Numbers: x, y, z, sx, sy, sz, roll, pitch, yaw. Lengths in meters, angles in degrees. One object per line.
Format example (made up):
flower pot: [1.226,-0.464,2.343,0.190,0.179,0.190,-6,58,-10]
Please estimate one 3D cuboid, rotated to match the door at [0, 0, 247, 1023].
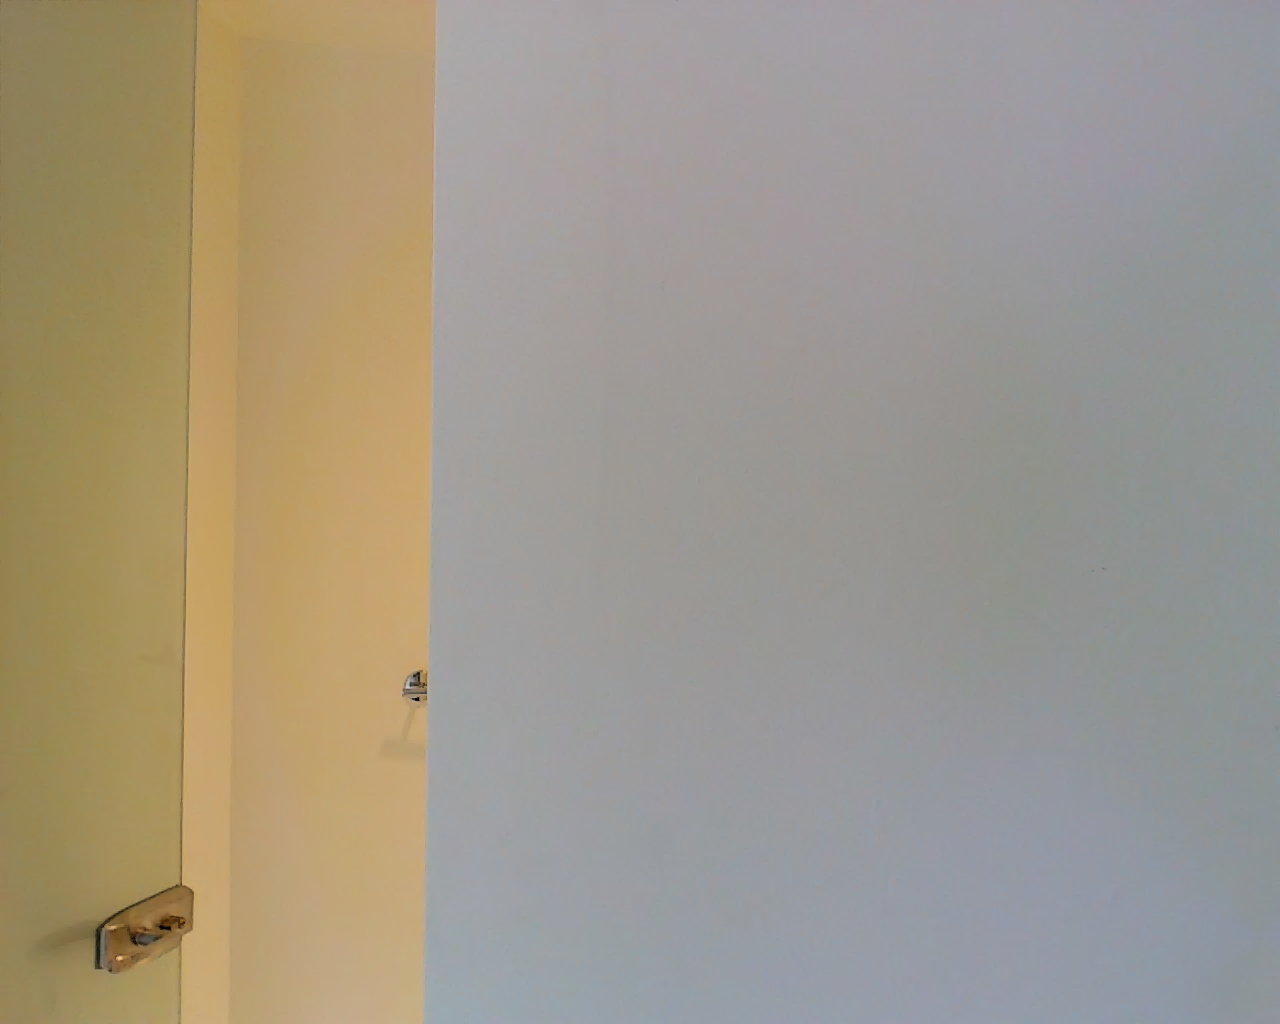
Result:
door: [-0.780,0.340,1.250,0.090,2.440,0.860,1,-1,14]
